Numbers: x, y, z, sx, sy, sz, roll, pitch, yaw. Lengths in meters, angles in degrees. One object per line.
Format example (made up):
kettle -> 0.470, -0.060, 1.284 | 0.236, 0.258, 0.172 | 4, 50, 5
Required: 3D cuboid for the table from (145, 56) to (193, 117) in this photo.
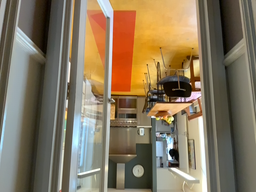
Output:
table -> 0.670, -0.070, 3.970 | 0.560, 0.760, 1.630 | 0, 168, -1
